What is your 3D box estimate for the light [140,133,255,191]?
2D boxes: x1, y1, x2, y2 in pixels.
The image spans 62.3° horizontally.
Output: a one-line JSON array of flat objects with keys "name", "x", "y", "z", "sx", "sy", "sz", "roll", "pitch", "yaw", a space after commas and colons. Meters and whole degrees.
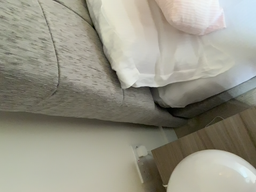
[{"name": "light", "x": 0.230, "y": 0.270, "z": 0.550, "sx": 0.260, "sy": 0.210, "sz": 0.260, "roll": -29, "pitch": 69, "yaw": 26}]
